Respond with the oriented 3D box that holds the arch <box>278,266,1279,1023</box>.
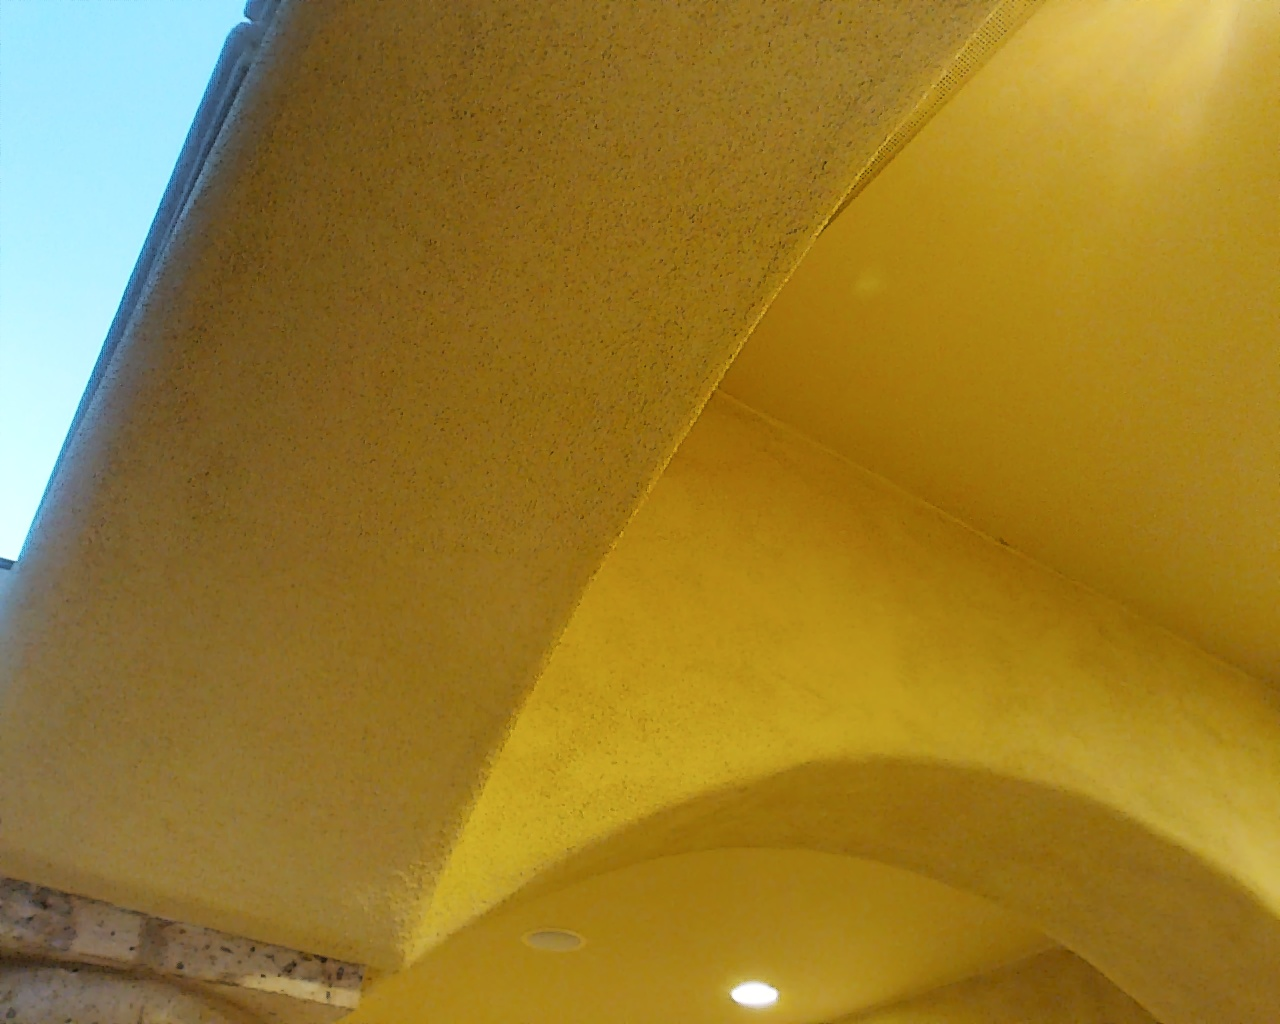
[{"bbox_3d":[0.800,0.670,2.230,2.779,1.260,0.410,25,-47,-24],"label":"arch"}]
